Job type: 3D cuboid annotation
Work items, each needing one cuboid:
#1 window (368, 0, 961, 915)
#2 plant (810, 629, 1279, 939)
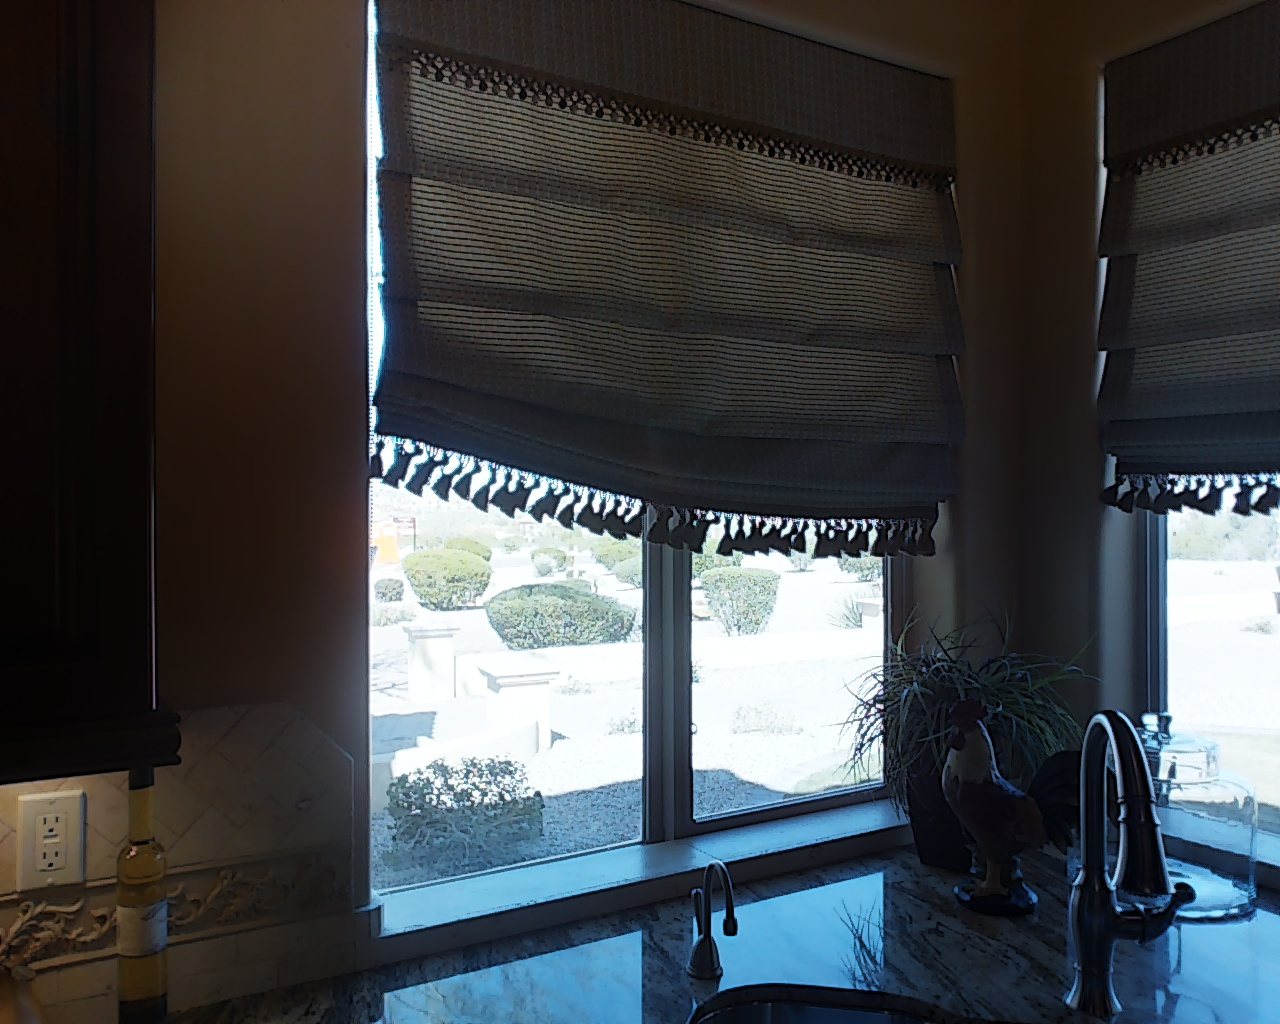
[{"bbox_3d":[0.110,-0.120,1.870,1.140,1.380,0.140,-1,1,-31],"label":"window"},{"bbox_3d":[0.670,0.430,1.870,0.600,0.370,0.590,0,1,-6],"label":"plant"}]
